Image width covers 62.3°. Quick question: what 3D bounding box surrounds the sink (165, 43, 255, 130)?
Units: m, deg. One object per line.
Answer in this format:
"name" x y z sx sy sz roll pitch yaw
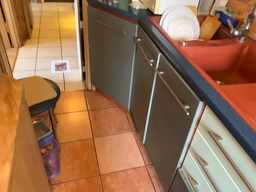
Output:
"sink" 0.520 -0.080 1.060 0.510 0.200 0.410 -5 40 -15
